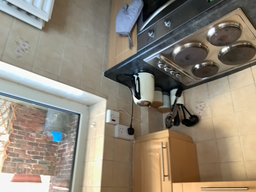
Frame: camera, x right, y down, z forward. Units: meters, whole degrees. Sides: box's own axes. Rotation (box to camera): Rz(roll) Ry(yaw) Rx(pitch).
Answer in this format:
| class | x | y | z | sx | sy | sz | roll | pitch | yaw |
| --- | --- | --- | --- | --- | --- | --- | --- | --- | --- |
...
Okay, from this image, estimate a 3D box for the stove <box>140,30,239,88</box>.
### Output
| class | x | y | z | sx | sy | sz | roll | pitch | yaw |
| --- | --- | --- | --- | --- | --- | --- | --- | --- | --- |
| stove | 0.400 | -0.200 | 1.380 | 0.470 | 0.020 | 0.440 | 22 | 149 | -39 |
